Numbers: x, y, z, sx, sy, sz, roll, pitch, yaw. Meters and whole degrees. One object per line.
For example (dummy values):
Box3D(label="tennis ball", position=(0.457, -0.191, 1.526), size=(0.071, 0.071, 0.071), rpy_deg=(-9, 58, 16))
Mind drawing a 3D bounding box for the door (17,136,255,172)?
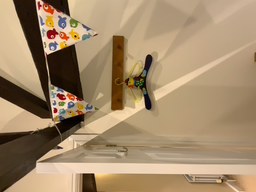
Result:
Box3D(label="door", position=(0.630, 0.300, 1.160), size=(0.820, 2.040, 0.040), rpy_deg=(116, 156, -83))
